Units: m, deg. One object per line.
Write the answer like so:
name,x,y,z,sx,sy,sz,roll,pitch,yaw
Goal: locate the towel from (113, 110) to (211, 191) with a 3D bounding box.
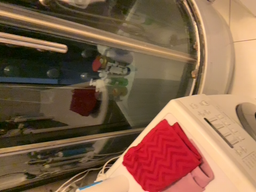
towel,0.080,0.190,0.610,0.240,0.060,0.180,-54,56,30
